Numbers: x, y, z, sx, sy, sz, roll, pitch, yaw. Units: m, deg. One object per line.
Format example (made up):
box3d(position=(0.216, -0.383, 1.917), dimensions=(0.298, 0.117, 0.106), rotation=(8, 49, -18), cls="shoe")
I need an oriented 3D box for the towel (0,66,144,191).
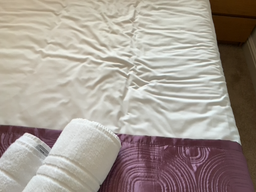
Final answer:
box3d(position=(-0.190, 0.160, 0.490), dimensions=(0.280, 0.100, 0.440), rotation=(25, 59, 14), cls="towel")
